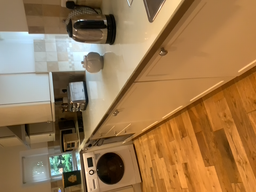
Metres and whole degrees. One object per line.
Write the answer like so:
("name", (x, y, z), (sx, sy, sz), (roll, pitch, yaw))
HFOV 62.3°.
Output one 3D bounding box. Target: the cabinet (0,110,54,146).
("cabinet", (-1.540, 0.490, 3.180), (0.650, 0.800, 0.310), (130, 132, -62))
